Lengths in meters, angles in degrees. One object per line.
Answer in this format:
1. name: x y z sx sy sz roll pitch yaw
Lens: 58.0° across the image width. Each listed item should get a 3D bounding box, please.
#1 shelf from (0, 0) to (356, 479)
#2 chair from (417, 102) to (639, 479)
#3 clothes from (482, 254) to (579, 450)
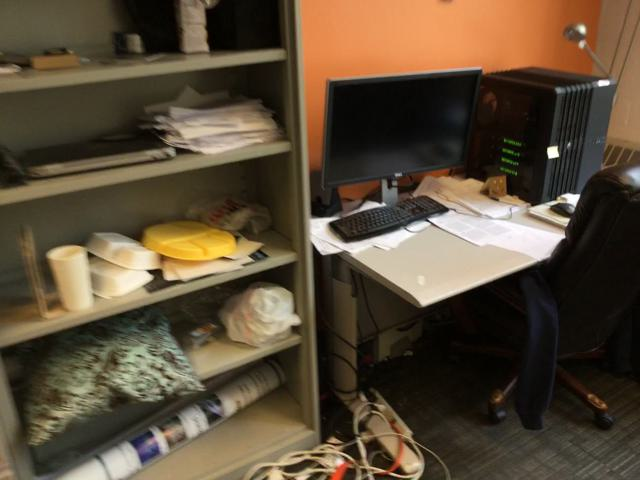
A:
1. shelf: -0.490 -0.180 1.580 1.030 2.020 0.540 -13 25 -30
2. chair: 0.830 0.140 1.960 0.630 1.060 0.690 -13 25 -29
3. clothes: 0.660 0.360 1.850 0.110 0.590 0.190 -13 25 -30
